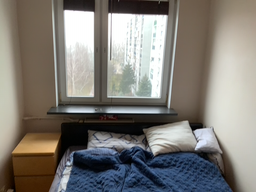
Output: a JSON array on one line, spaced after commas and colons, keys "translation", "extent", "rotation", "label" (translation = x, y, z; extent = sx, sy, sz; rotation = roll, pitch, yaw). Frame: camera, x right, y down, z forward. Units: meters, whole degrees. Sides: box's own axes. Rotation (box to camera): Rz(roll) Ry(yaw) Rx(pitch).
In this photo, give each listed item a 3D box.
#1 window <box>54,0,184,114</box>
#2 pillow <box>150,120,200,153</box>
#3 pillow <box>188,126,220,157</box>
[{"translation": [-0.120, -0.490, 2.690], "extent": [1.490, 1.450, 0.200], "rotation": [1, 15, -8], "label": "window"}, {"translation": [0.510, 0.450, 2.430], "extent": [0.480, 0.170, 0.440], "rotation": [3, 15, 1], "label": "pillow"}, {"translation": [0.830, 0.490, 2.350], "extent": [0.200, 0.160, 0.410], "rotation": [3, 15, 1], "label": "pillow"}]
